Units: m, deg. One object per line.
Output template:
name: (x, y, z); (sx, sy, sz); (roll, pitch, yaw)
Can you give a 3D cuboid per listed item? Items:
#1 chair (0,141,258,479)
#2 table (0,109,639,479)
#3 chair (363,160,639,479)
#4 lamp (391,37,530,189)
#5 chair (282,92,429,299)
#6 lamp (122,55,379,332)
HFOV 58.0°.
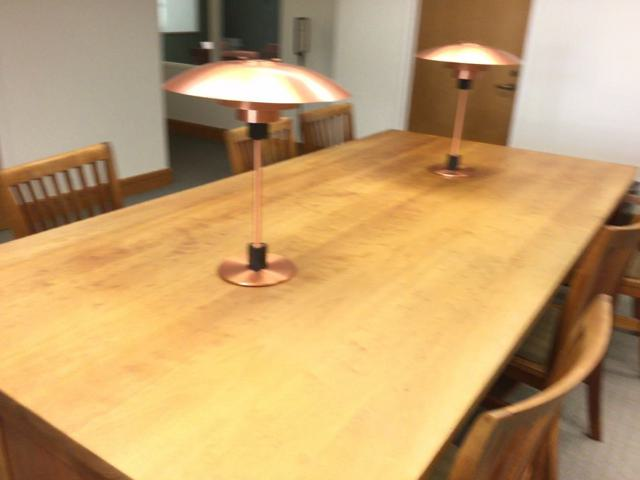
chair: (-0.650, 0.200, 2.000); (0.620, 0.940, 0.570); (14, 23, 33)
table: (0.220, 0.190, 2.150); (1.580, 0.950, 2.880); (14, 23, 33)
chair: (0.620, 0.270, 1.950); (0.740, 0.910, 0.540); (14, 23, 32)
lamp: (0.590, -0.560, 2.450); (0.400, 0.560, 0.400); (14, 23, 33)
chair: (0.190, -0.280, 3.150); (0.510, 0.950, 0.620); (14, 23, 33)
lamp: (-0.150, -0.160, 1.430); (0.400, 0.550, 0.440); (14, 23, 33)
